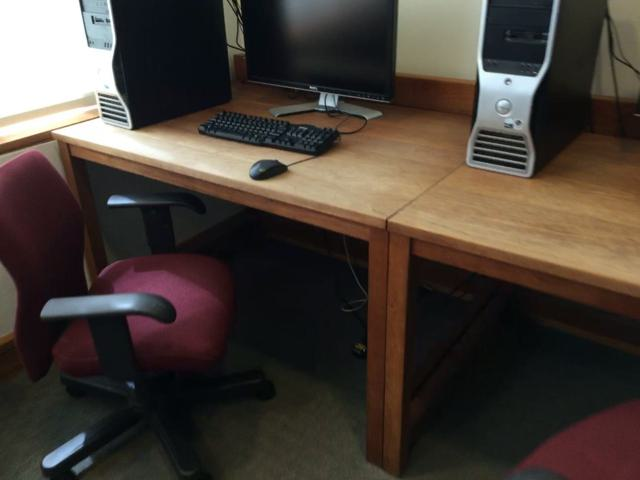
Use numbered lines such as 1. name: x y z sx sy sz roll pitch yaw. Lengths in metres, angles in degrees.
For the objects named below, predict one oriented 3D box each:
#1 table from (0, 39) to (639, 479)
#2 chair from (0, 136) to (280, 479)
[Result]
1. table: 0.290 0.100 1.570 2.550 0.970 1.290 17 28 31
2. chair: -0.480 0.210 1.540 0.630 0.800 0.610 5 24 7
